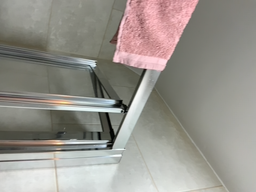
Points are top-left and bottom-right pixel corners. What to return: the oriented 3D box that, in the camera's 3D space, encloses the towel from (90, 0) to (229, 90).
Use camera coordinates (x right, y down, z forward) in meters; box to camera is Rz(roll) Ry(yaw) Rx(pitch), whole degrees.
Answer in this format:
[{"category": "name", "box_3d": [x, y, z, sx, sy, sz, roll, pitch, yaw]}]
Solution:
[{"category": "towel", "box_3d": [0.070, -0.190, 0.450, 0.340, 0.200, 0.120, -64, -146, 34]}]
